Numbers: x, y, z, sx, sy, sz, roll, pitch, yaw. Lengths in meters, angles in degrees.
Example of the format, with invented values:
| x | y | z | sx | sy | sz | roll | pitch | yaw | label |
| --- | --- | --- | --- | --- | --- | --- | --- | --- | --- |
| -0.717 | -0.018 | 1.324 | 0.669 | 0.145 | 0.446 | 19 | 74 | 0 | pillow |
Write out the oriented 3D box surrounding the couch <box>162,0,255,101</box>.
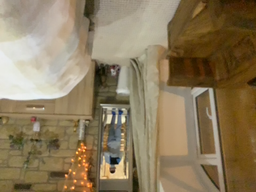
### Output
| x | y | z | sx | sy | sz | roll | pitch | yaw | label |
| --- | --- | --- | --- | --- | --- | --- | --- | --- | --- |
| 0.810 | -0.500 | 1.860 | 0.730 | 0.780 | 1.200 | 2 | 164 | -4 | couch |
